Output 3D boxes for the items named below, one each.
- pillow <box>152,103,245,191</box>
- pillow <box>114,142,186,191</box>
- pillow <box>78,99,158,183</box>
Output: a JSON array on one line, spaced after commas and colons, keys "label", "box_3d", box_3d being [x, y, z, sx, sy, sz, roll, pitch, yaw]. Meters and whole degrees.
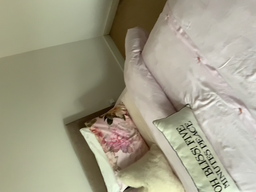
[{"label": "pillow", "box_3d": [0.380, 0.340, 1.190, 0.550, 0.190, 0.160, 61, 151, 15]}, {"label": "pillow", "box_3d": [0.180, 0.680, 1.700, 0.380, 0.440, 0.200, 35, 147, 0]}, {"label": "pillow", "box_3d": [-0.100, 0.400, 1.950, 0.600, 0.410, 0.200, 49, 149, 10]}]
